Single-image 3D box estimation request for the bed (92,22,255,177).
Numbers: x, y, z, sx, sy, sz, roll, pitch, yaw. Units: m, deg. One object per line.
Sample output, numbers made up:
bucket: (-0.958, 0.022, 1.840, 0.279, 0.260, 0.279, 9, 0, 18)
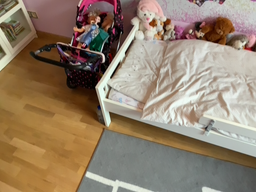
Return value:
bed: (0.710, 0.030, 1.500, 1.680, 0.410, 0.800, 16, 54, 14)
